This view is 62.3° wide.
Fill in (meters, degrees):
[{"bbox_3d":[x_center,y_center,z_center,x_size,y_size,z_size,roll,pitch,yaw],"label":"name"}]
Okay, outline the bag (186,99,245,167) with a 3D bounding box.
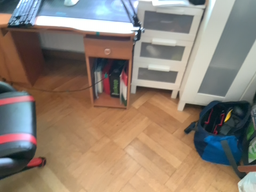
[{"bbox_3d":[0.590,0.250,1.500,0.270,0.220,0.390,7,46,2],"label":"bag"}]
